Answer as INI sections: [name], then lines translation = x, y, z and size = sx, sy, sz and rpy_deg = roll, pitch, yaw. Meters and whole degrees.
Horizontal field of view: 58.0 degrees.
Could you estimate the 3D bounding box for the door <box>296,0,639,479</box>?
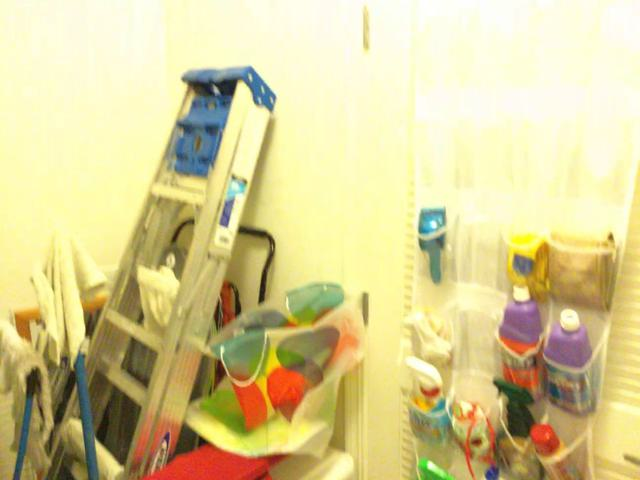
[door]
translation = 0.410, 0.250, 1.290
size = 1.070, 2.120, 0.170
rpy_deg = 10, 16, 39
